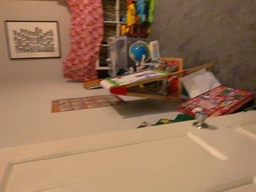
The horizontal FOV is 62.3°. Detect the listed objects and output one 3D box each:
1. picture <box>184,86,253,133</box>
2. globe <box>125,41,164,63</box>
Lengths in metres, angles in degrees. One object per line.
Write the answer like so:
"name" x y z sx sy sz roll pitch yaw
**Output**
"picture" 0.720 0.090 1.720 0.140 0.400 0.300 68 166 -19
"globe" 0.230 -0.640 3.040 0.250 0.500 0.290 -147 54 -67
